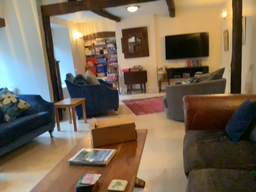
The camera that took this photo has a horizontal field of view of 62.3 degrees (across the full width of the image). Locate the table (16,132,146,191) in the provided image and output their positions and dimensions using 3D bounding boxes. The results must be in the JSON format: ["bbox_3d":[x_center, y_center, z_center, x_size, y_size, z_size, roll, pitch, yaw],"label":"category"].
[{"bbox_3d":[-0.230,0.660,1.540,0.630,0.450,1.010,-2,11,9],"label":"table"}]

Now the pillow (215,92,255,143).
[{"bbox_3d":[0.980,0.180,1.910,0.140,0.330,0.390,33,19,5],"label":"pillow"}]

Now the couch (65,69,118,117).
[{"bbox_3d":[-0.840,-0.130,4.650,0.950,0.800,1.110,-7,11,-15],"label":"couch"}]

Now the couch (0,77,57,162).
[{"bbox_3d":[-1.880,0.250,2.930,1.100,0.870,1.200,0,11,19],"label":"couch"}]

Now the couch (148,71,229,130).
[{"bbox_3d":[1.070,0.000,3.870,0.890,0.790,1.080,-11,13,-32],"label":"couch"}]
